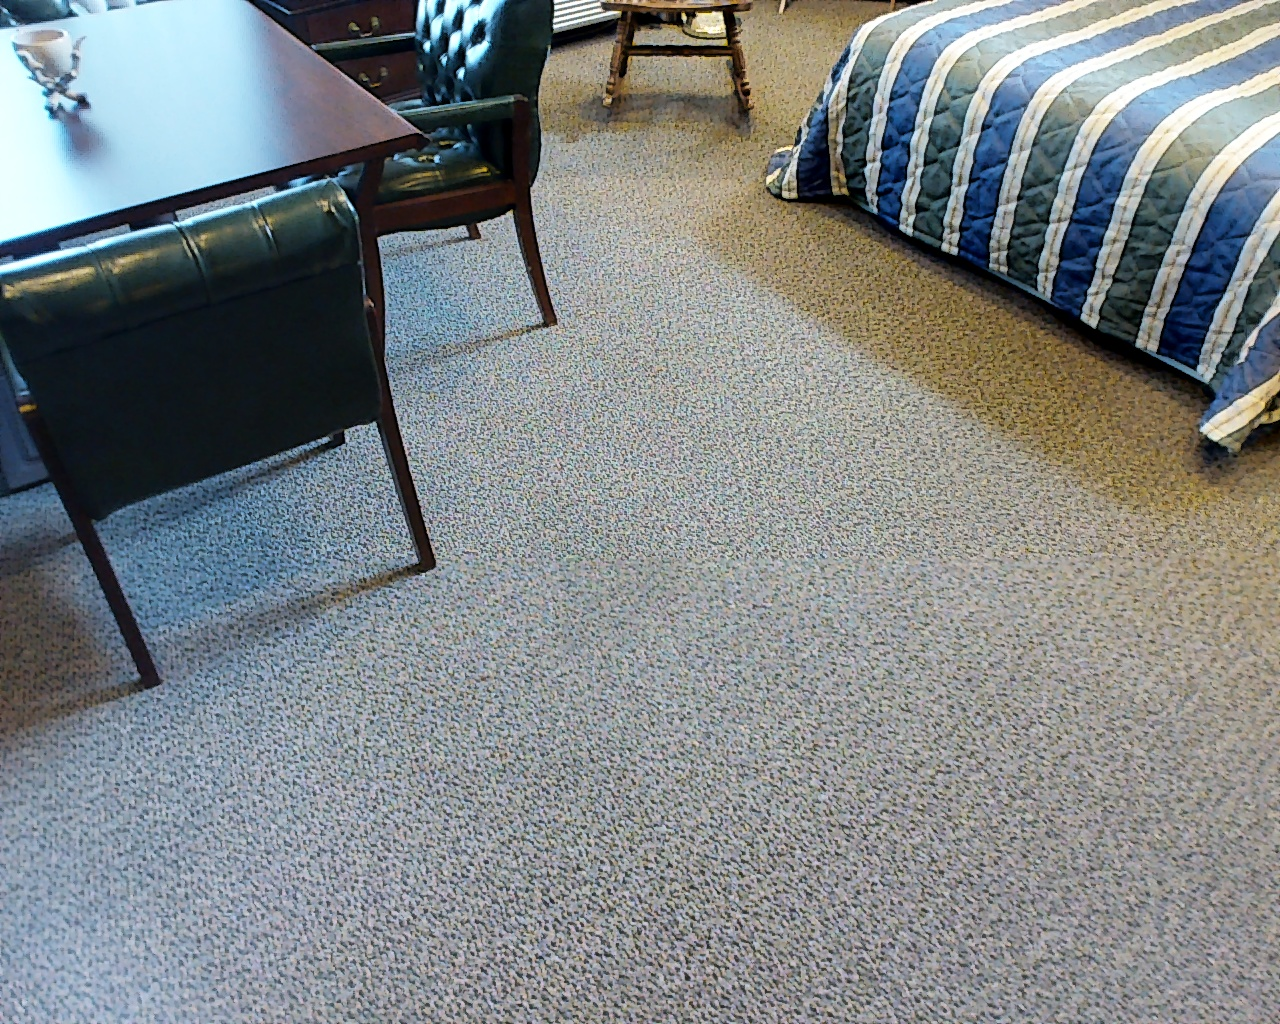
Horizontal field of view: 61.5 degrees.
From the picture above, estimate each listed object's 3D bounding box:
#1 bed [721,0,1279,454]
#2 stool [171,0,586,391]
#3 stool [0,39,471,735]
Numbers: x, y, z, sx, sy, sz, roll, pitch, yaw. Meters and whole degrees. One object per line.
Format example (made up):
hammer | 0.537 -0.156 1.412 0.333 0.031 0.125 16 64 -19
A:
bed | 1.810 -1.360 3.280 2.560 0.680 1.750 -26 47 -25
stool | -0.660 -0.960 2.810 0.740 0.860 0.710 -23 46 -23
stool | -0.850 -0.260 2.020 0.680 0.880 0.740 -27 48 -26
